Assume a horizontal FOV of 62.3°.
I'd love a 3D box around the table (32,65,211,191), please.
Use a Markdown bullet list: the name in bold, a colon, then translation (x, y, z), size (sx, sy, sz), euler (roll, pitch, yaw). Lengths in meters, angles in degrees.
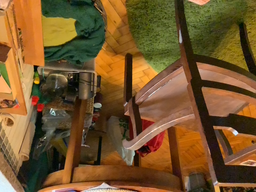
- **table**: translation (-0.130, 0.460, 1.780), size (1.010, 0.770, 1.030), euler (9, 144, -13)
